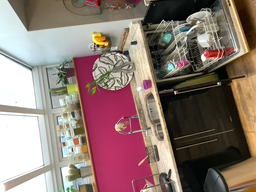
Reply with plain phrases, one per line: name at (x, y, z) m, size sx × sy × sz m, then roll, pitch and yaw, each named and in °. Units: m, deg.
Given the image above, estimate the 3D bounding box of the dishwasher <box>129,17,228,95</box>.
dishwasher at (0.550, -0.460, 2.610) m, size 0.700 × 0.870 × 0.600 m, roll 124°, pitch 135°, yaw -75°

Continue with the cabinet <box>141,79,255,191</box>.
cabinet at (0.770, 0.520, 2.440) m, size 0.660 × 0.900 × 1.150 m, roll 124°, pitch 135°, yaw -75°
